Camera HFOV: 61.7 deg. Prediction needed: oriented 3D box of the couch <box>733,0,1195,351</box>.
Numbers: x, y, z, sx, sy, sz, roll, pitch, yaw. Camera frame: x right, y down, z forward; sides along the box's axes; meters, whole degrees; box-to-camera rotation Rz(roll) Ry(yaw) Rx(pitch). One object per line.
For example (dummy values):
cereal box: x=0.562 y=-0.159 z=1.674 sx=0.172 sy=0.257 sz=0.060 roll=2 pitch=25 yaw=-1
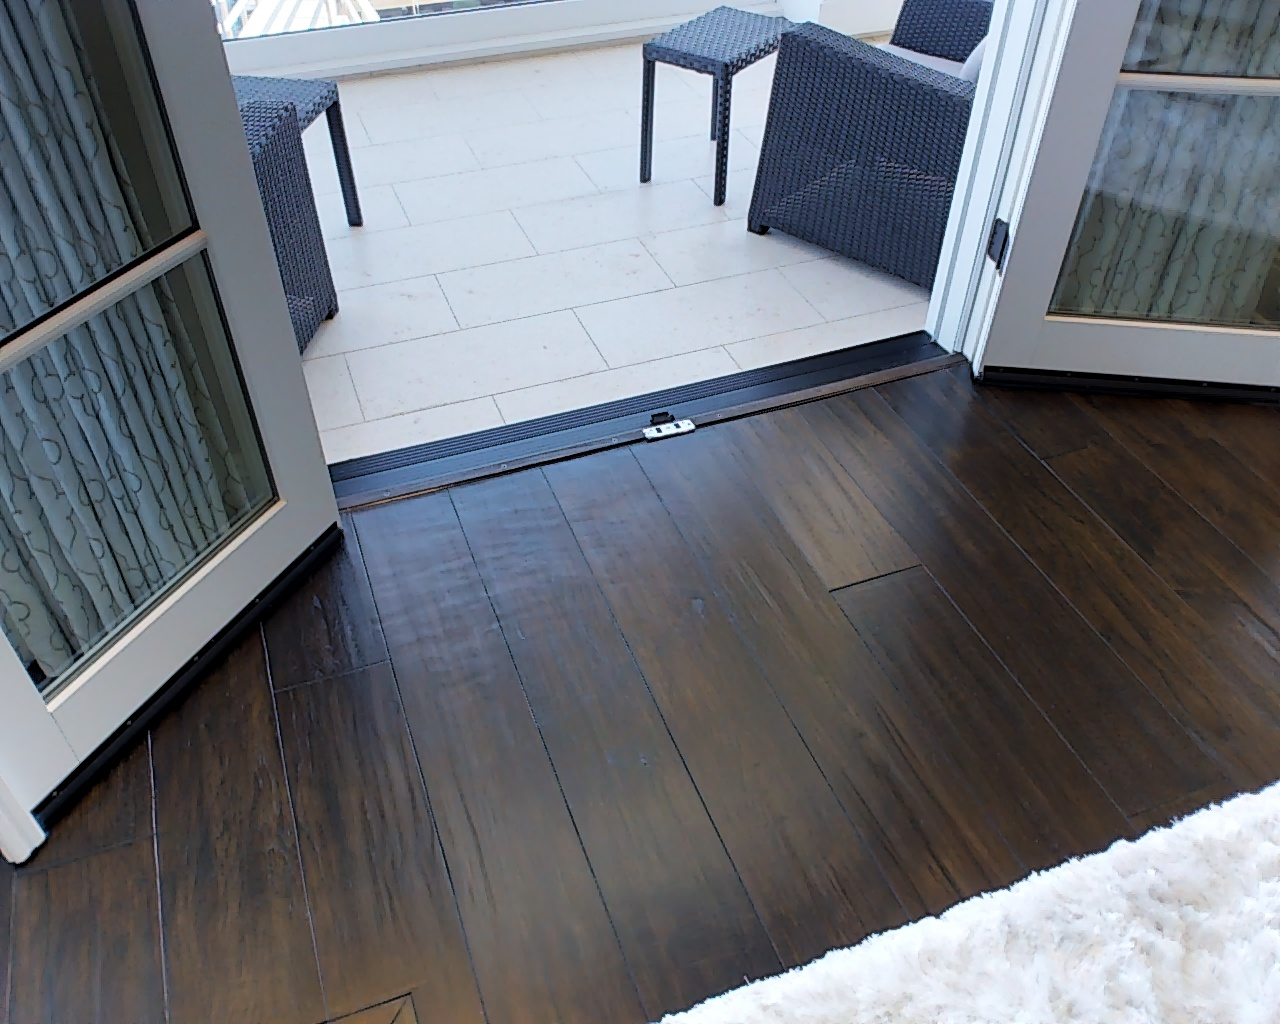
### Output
couch: x=0.870 y=-1.130 z=2.970 sx=0.860 sy=0.850 sz=0.810 roll=29 pitch=50 yaw=29
